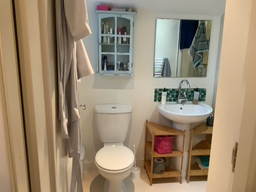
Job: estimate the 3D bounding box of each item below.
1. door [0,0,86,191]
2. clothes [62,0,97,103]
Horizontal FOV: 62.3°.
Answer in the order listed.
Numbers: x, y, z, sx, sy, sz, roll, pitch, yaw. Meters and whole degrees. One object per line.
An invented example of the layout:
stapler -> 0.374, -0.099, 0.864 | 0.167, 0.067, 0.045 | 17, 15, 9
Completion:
door -> -0.360, 0.100, 1.070 | 0.100, 2.150, 1.020 | 1, 13, -2
clothes -> -0.230, -0.370, 1.060 | 0.120, 0.760, 0.290 | 1, 13, -4
